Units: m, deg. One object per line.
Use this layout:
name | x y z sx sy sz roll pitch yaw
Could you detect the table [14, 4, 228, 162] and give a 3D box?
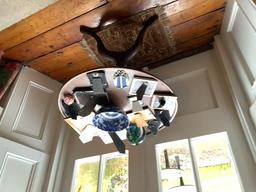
table | -0.050 -0.020 1.430 1.160 0.600 0.490 -16 139 19
